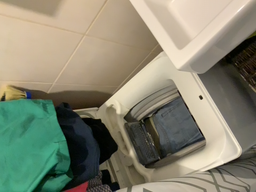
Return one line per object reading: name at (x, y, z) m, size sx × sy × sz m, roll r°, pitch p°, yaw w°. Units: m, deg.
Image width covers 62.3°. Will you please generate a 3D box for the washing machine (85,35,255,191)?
washing machine at (0.330, 0.120, 1.070) m, size 0.520 × 0.840 × 0.420 m, roll -40°, pitch 64°, yaw 35°
